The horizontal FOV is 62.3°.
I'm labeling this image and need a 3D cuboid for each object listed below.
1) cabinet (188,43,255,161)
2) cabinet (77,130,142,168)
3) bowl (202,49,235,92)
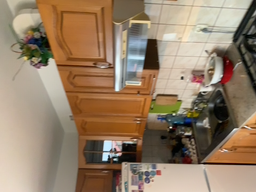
[{"bbox_3d":[1.180,0.140,1.960,1.040,0.850,0.590,97,174,-55],"label":"cabinet"},{"bbox_3d":[-0.220,0.640,2.610,0.390,0.720,0.320,-118,31,-83],"label":"cabinet"},{"bbox_3d":[0.740,-0.210,1.770,0.270,0.110,0.230,96,175,-56],"label":"bowl"}]
